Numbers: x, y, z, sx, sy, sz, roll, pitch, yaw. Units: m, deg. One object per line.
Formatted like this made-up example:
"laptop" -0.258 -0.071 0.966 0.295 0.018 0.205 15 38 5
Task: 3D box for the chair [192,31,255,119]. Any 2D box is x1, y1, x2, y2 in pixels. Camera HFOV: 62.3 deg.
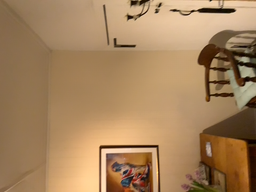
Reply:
"chair" 1.120 -0.170 1.960 0.560 0.810 0.600 94 175 -62
